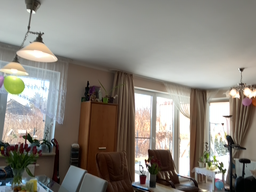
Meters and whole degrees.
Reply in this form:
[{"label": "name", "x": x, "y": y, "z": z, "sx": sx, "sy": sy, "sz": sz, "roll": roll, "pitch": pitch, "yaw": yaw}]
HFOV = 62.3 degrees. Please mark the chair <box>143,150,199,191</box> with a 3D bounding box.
[{"label": "chair", "x": 0.790, "y": 1.570, "z": 4.010, "sx": 0.590, "sy": 0.970, "sz": 0.840, "roll": 8, "pitch": -9, "yaw": -33}]
